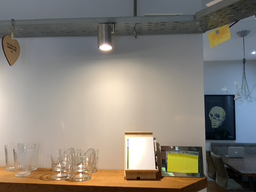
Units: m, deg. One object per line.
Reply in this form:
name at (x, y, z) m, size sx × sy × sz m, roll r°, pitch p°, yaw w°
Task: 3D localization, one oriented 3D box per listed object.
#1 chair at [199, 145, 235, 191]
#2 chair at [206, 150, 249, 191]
chair at (1.770, 1.510, 4.260) m, size 0.530 × 0.960 × 0.450 m, roll 0°, pitch -3°, yaw 2°
chair at (1.720, 1.480, 3.700) m, size 0.530 × 0.960 × 0.450 m, roll 0°, pitch -3°, yaw 2°
